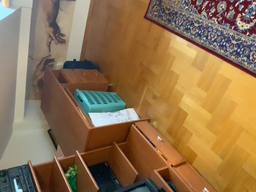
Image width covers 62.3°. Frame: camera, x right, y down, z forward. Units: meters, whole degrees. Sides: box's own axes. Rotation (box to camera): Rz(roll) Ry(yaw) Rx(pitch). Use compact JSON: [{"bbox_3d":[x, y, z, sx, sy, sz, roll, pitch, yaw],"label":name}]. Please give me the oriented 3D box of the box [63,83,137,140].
[{"bbox_3d":[-0.330,0.150,2.460,0.410,0.660,0.430,48,128,38],"label":"box"}]
